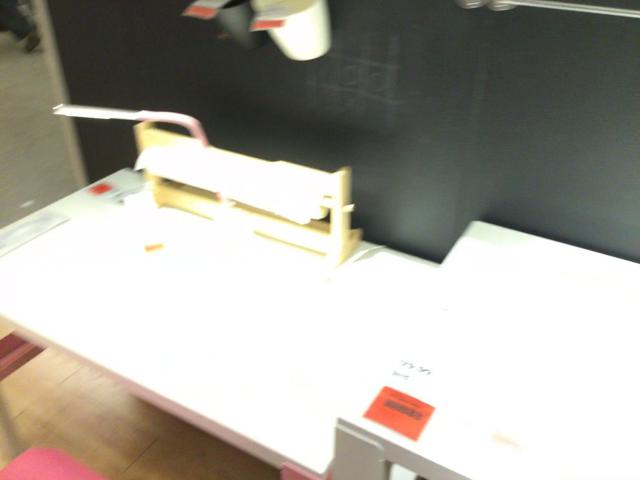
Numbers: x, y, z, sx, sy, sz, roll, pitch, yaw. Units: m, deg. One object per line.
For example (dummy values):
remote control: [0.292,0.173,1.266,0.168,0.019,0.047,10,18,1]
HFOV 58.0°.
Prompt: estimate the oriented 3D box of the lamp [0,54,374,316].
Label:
lamp: [-0.300,-0.170,1.270,0.730,0.300,0.340,20,32,26]
